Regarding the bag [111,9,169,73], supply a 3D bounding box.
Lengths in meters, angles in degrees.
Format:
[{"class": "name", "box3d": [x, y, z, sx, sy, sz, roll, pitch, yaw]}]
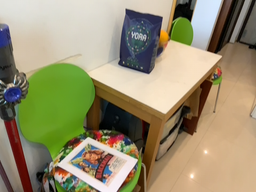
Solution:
[{"class": "bag", "box3d": [0.060, -0.320, 1.220, 0.250, 0.270, 0.160, 27, 38, 25]}]

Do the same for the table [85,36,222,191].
[{"class": "table", "box3d": [0.190, 0.090, 1.570, 0.500, 0.760, 0.920, 26, 38, 25]}]
